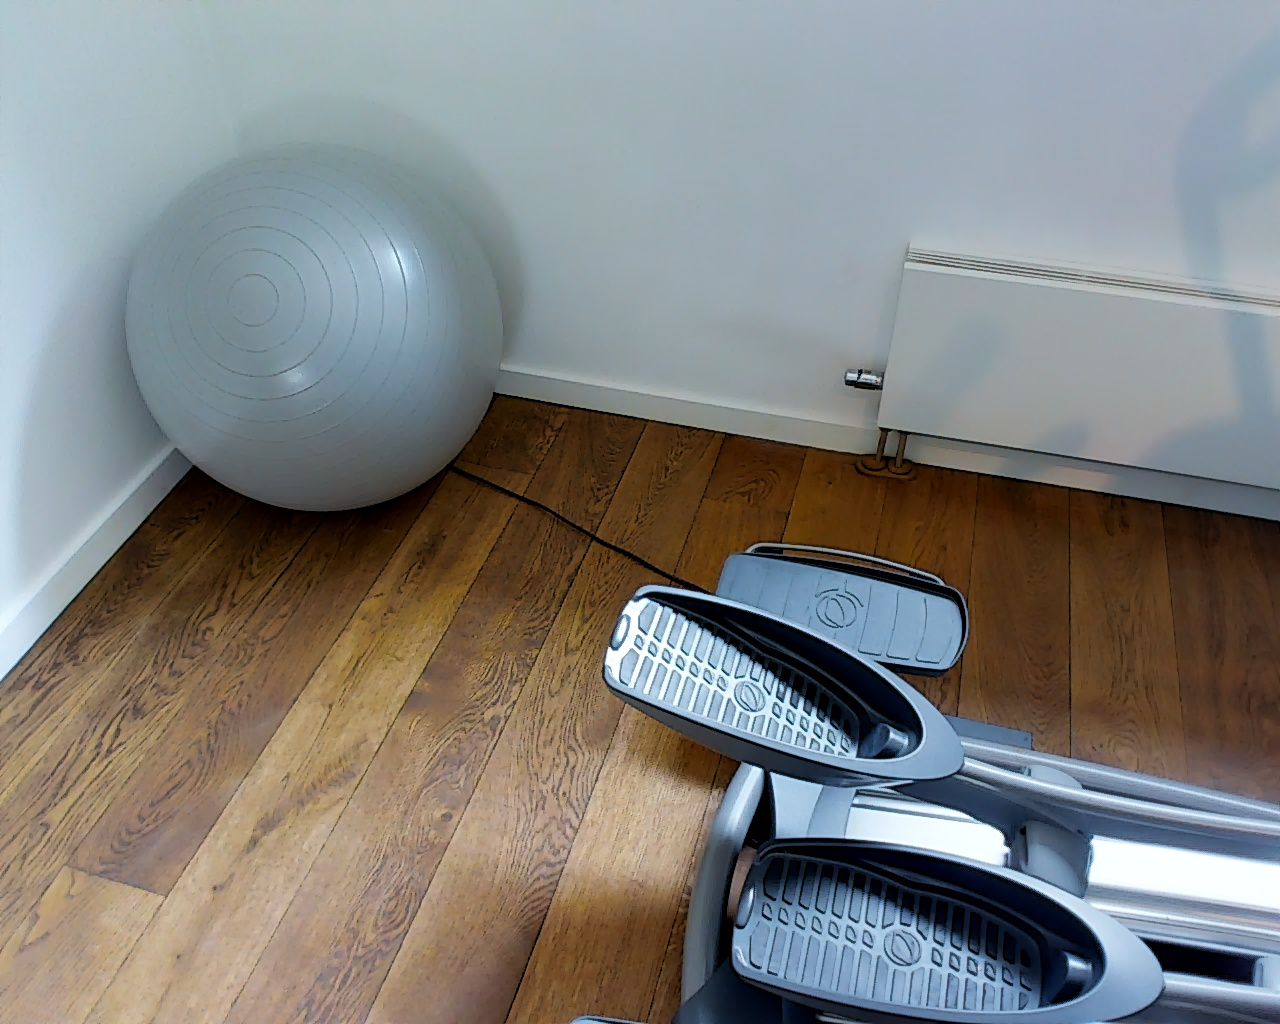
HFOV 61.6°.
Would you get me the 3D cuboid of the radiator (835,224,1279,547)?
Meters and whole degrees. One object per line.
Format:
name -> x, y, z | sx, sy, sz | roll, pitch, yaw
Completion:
radiator -> 1.640, -0.070, 1.800 | 2.560, 0.490, 0.110 | 11, 43, 13
